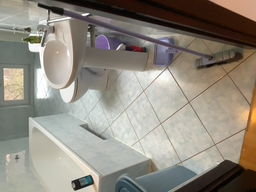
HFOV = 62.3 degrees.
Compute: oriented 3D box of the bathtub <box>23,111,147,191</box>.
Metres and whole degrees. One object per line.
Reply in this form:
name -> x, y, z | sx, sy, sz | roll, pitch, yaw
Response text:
bathtub -> -0.630, 0.740, 2.410 | 1.710, 0.550, 0.690 | 16, 105, 46
